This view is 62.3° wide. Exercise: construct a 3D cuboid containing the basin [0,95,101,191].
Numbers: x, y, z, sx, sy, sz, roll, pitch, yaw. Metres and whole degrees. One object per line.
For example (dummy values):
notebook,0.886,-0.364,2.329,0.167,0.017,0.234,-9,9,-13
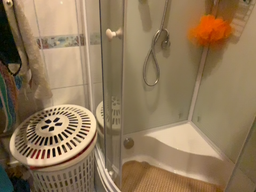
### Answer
basin,-0.440,0.410,1.310,0.450,0.640,0.450,-9,33,-17
